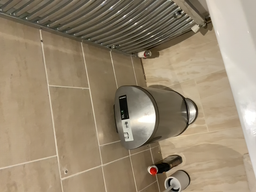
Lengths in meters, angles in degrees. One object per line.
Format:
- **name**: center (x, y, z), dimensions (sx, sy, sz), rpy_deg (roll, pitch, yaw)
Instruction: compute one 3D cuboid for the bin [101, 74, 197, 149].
- **bin**: center (0.130, 0.080, 1.060), dimensions (0.230, 0.470, 0.270), rpy_deg (-15, 80, 34)
